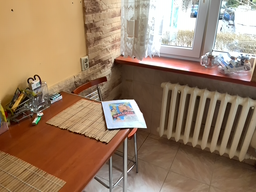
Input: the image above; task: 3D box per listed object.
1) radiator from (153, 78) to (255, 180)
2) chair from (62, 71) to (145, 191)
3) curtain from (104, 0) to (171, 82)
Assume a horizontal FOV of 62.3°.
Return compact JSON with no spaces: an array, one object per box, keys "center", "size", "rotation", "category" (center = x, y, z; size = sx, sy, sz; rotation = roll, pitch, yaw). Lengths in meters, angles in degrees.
[{"center":[0.710,0.270,1.850],"size":[0.940,0.670,0.160],"rotation":[15,31,23],"category":"radiator"},{"center":[-0.170,0.290,1.710],"size":[0.440,0.830,0.400],"rotation":[14,31,23],"category":"chair"},{"center":[0.090,-1.060,1.560],"size":[0.430,1.860,0.340],"rotation":[17,32,27],"category":"curtain"}]
